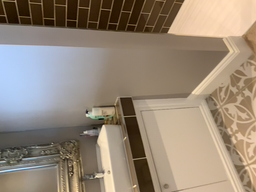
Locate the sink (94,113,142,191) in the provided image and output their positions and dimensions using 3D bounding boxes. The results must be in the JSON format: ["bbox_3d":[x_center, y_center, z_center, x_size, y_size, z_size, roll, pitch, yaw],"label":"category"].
[{"bbox_3d":[-0.100,0.490,1.550,0.420,0.170,0.590,116,147,-54],"label":"sink"}]
